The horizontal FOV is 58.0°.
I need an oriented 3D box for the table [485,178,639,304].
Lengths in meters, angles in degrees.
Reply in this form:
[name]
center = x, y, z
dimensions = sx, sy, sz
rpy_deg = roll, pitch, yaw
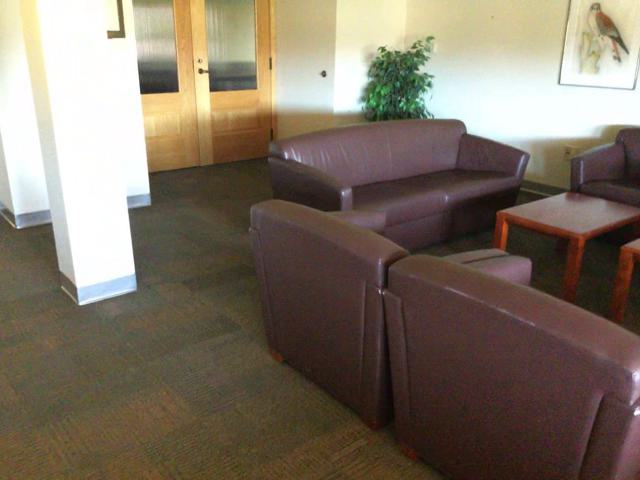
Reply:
[table]
center = 1.370, -0.030, 3.210
dimensions = 0.670, 0.410, 0.580
rpy_deg = -20, 26, -37

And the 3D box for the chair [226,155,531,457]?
[chair]
center = 0.210, 0.160, 2.330
dimensions = 0.800, 0.770, 0.830
rpy_deg = -17, 27, -38

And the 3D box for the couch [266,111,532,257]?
[couch]
center = 0.490, -0.430, 3.660
dimensions = 1.450, 0.690, 0.790
rpy_deg = -8, 19, -30
